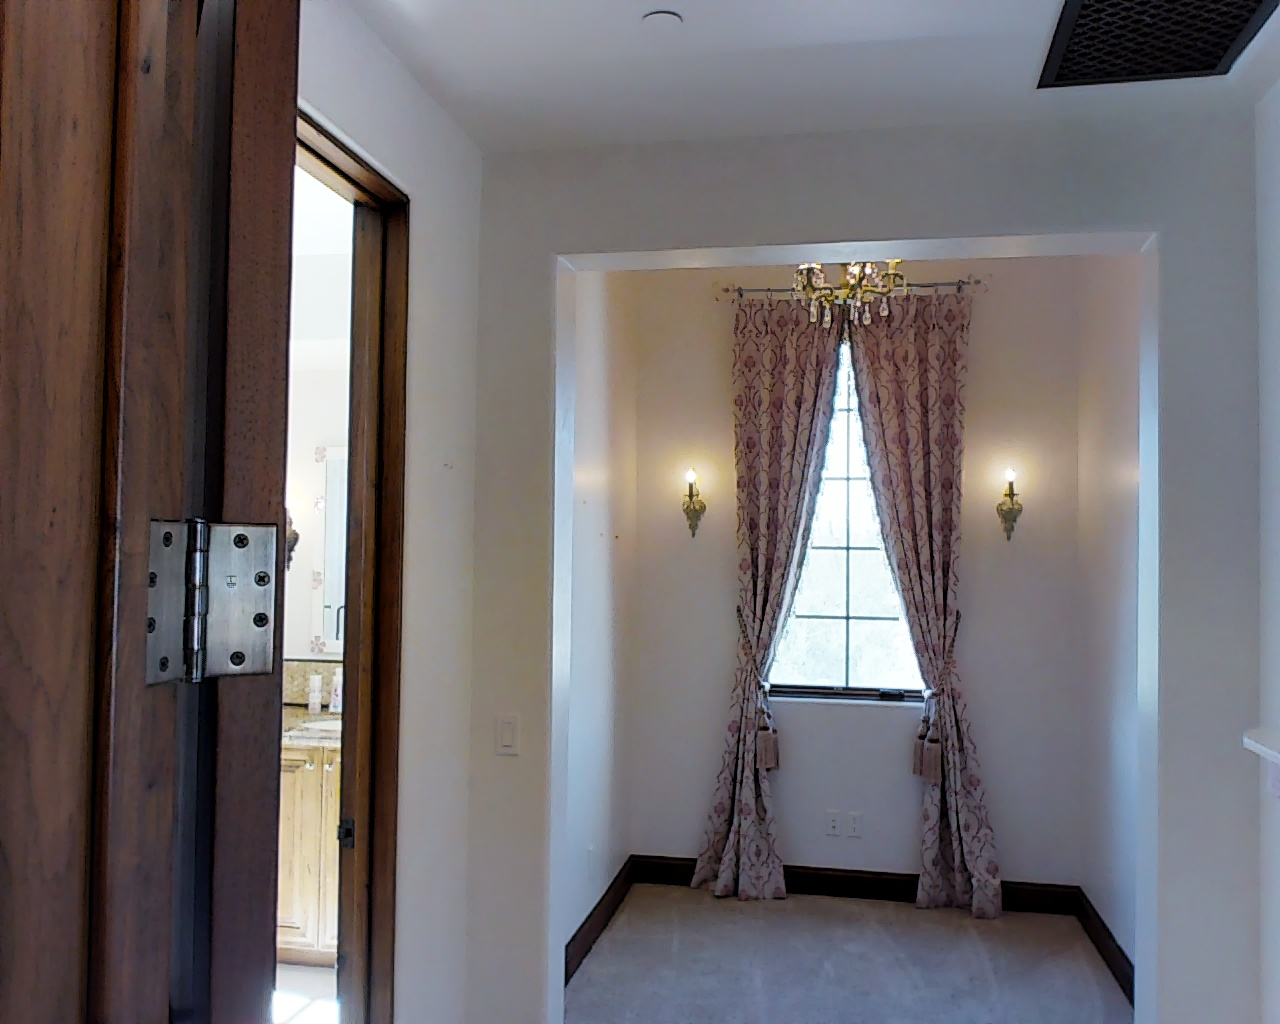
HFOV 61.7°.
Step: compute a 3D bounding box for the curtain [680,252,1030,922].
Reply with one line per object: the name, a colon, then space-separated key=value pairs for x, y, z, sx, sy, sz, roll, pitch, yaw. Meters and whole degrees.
curtain: x=0.980 y=0.310 z=4.960 sx=1.520 sy=2.920 sz=0.280 roll=0 pitch=-2 yaw=11
